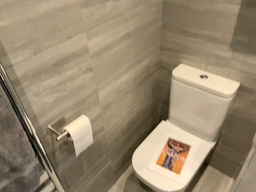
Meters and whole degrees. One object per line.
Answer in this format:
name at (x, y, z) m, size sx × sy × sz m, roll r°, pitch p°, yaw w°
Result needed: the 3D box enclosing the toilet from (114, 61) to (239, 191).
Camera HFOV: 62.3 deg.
toilet at (0.290, 0.320, 1.330) m, size 0.370 × 0.820 × 0.600 m, roll 26°, pitch 49°, yaw 31°
